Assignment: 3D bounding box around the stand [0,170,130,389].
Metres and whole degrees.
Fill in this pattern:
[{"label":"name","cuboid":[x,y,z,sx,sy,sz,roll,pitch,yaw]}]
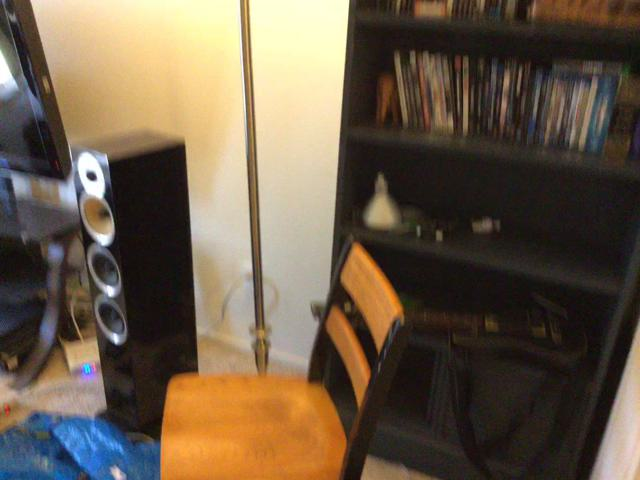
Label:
[{"label":"stand","cuboid":[-1.470,0.060,2.400,1.210,0.620,0.560,11,16,20]}]
